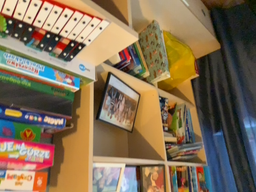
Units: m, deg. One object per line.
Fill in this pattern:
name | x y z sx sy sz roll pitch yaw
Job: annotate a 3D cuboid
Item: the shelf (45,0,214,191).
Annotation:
shelf | 0.080 0.190 1.140 0.260 1.100 0.920 -22 151 38
